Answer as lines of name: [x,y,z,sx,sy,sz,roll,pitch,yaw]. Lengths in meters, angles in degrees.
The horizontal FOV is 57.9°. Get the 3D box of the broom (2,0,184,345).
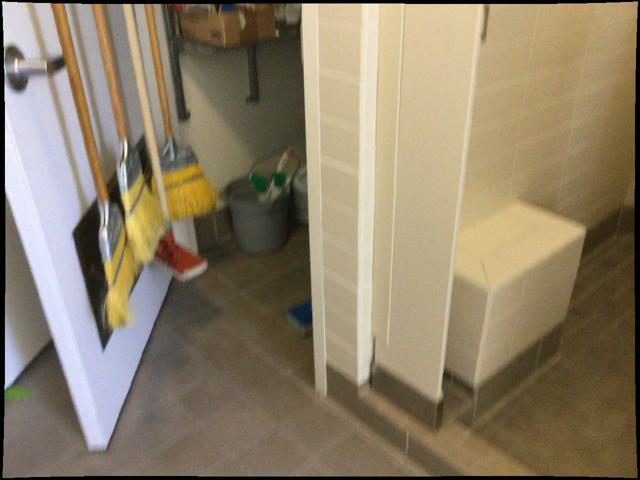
broom: [-0.490,-0.420,1.110,0.150,1.401,0.210,-25,37,-33]

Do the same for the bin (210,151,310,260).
bin: [-0.240,-0.150,2.370,0.270,0.300,0.280,-25,38,-32]

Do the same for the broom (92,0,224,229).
broom: [-0.529,-0.711,1.730,0.210,1.371,0.260,-25,37,-33]

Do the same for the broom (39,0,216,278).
broom: [-0.480,-0.591,1.260,0.210,1.391,0.280,-25,37,-32]
